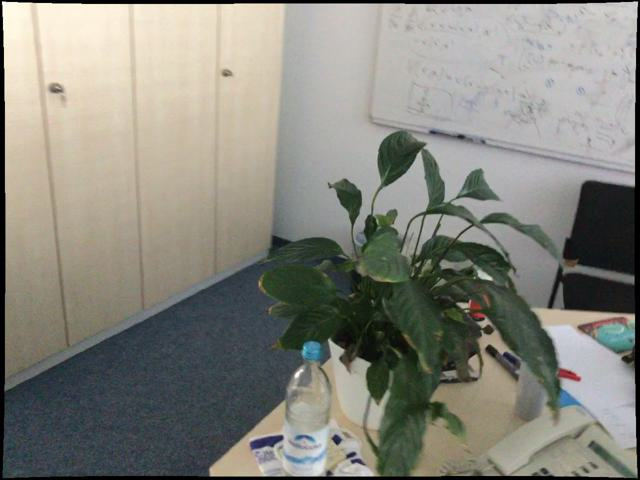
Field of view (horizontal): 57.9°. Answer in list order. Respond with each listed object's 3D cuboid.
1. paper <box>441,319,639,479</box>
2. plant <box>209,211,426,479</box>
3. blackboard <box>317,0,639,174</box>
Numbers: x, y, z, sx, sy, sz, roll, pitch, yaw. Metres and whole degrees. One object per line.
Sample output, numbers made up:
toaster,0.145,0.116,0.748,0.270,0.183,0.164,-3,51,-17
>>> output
paper,0.490,0.320,1.250,0.240,0.040,0.440,-8,26,-22
plant,0.000,0.190,1.090,0.260,0.370,0.300,16,28,29
blackboard,1.269,-0.931,2.180,2.888,1.331,0.190,16,28,29
